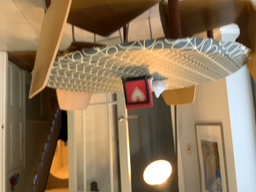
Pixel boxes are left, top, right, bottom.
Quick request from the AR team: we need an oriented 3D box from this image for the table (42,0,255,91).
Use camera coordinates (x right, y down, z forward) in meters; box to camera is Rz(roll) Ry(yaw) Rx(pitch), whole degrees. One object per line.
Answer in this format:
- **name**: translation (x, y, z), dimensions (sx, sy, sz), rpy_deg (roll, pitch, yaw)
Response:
- **table**: translation (0.120, -0.480, 1.340), dimensions (0.970, 0.710, 1.000), rpy_deg (-3, 173, -4)
